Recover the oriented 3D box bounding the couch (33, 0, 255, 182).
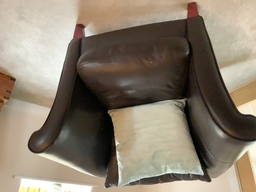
[{"bbox_3d":[0.210,0.030,1.420,0.940,0.870,1.030,-8,149,17],"label":"couch"}]
